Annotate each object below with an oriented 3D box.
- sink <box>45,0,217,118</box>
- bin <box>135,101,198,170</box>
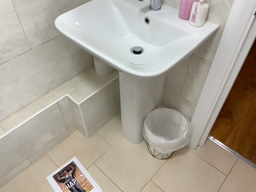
[{"bbox_3d":[0.000,-0.250,0.950,0.570,0.210,0.430,35,56,27],"label":"sink"},{"bbox_3d":[0.230,0.240,1.330,0.260,0.230,0.250,-36,57,-29],"label":"bin"}]
